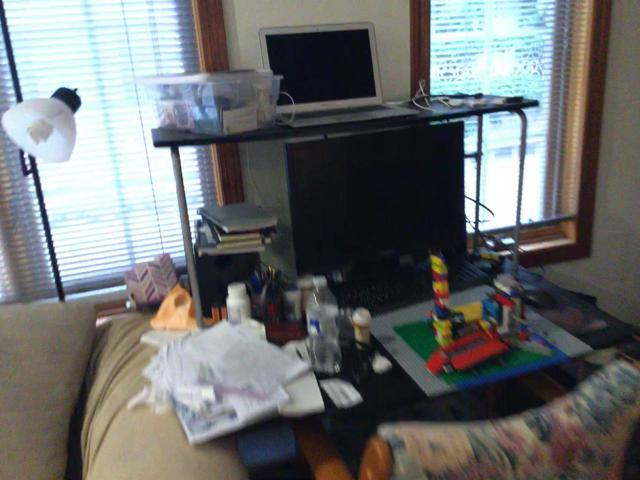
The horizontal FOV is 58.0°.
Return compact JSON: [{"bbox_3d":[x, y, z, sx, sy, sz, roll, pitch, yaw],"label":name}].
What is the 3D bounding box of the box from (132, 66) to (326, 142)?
[{"bbox_3d":[-0.220,-0.320,1.340,0.350,0.130,0.330,-11,17,-25],"label":"box"}]
